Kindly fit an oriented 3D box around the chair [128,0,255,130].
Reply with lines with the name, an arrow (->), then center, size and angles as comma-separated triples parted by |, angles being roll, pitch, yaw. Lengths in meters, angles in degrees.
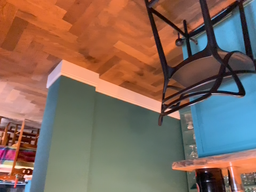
chair -> 0.380, -0.330, 1.310 | 0.570, 0.890, 0.500 | 19, 148, -34
